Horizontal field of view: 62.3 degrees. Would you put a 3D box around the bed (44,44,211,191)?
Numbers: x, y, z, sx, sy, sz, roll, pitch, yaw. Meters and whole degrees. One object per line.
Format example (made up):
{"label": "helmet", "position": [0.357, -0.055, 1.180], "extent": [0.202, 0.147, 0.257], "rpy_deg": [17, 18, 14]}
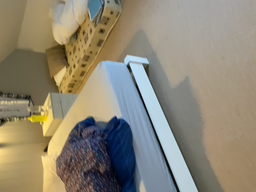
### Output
{"label": "bed", "position": [-0.300, 0.720, 2.170], "extent": [1.970, 0.490, 1.410], "rpy_deg": [-48, 52, 42]}
